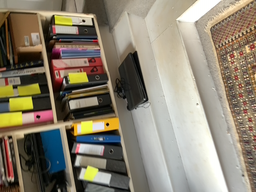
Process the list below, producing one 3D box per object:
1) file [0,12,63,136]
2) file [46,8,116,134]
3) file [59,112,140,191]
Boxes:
[{"bbox_3d":[-0.730,-0.160,1.450,0.230,0.390,0.780,-35,65,59],"label":"file"},{"bbox_3d":[-0.380,-0.200,1.630,0.220,0.320,0.910,-34,66,59],"label":"file"},{"bbox_3d":[-0.190,0.570,1.490,0.300,0.400,0.820,-29,71,60],"label":"file"}]
